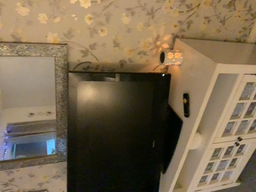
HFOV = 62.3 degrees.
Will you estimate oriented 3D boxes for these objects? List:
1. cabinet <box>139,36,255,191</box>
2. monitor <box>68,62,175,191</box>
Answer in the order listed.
[{"bbox_3d":[0.580,0.180,1.560,0.480,0.690,1.060,-122,36,-53],"label":"cabinet"},{"bbox_3d":[-0.040,0.280,1.340,0.060,0.640,0.960,-148,58,-66],"label":"monitor"}]
